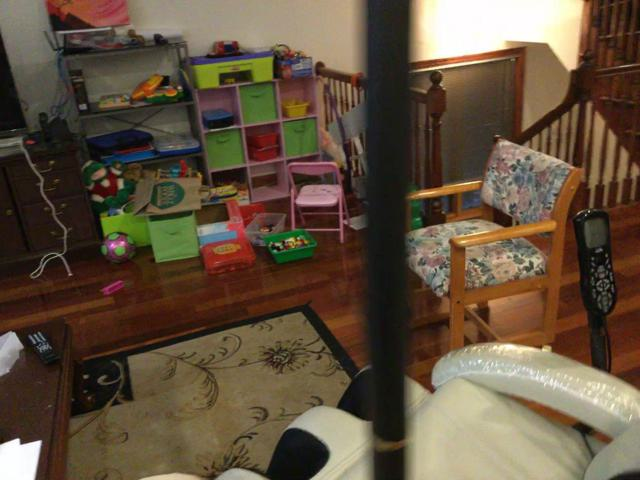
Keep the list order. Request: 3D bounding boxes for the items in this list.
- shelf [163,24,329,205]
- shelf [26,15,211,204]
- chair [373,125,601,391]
[{"bbox_3d":[-0.510,-0.930,4.190,1.010,1.120,0.440,-12,25,-20],"label":"shelf"},{"bbox_3d":[-1.300,-0.890,3.820,0.920,1.050,0.540,-12,25,-20],"label":"shelf"},{"bbox_3d":[0.620,0.030,2.390,0.600,0.830,0.640,-9,24,-14],"label":"chair"}]
